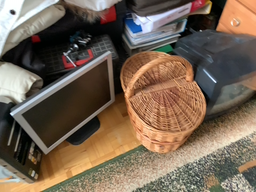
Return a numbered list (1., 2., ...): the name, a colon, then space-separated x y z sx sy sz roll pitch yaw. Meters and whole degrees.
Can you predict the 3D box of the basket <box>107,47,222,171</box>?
1. basket: 0.120 0.050 0.910 0.280 0.270 0.370 -21 58 -15
